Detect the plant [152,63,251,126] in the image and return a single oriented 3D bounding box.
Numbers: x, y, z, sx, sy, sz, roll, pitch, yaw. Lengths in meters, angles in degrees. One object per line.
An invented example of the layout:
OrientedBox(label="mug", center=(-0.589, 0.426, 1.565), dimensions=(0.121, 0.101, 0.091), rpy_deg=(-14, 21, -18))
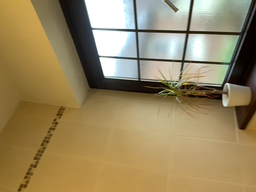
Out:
OrientedBox(label="plant", center=(0.440, -0.010, 1.390), dimensions=(0.320, 0.540, 0.200), rpy_deg=(83, -163, -50))

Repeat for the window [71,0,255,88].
OrientedBox(label="window", center=(0.190, -0.350, 1.380), dimensions=(0.630, 0.990, 0.110), rpy_deg=(83, -163, -50))
